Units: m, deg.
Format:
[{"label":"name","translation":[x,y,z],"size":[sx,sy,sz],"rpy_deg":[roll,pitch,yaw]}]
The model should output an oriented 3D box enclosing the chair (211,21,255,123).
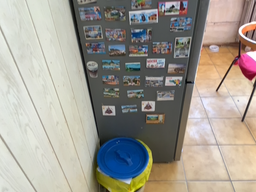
[{"label":"chair","translation":[1.160,-0.240,1.870],"size":[0.530,0.680,0.440],"rpy_deg":[-25,44,-23]}]
